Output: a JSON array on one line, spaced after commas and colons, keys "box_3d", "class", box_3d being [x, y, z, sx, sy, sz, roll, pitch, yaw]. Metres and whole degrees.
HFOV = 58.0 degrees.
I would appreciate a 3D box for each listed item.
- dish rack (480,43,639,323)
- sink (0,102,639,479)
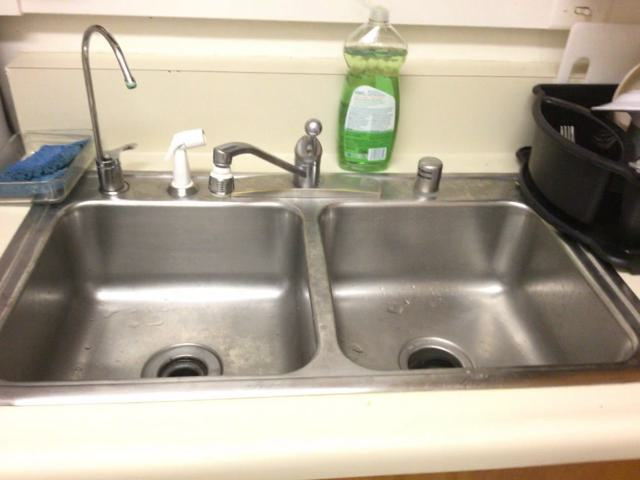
[{"box_3d": [0.640, -0.120, 0.880, 0.620, 0.220, 0.450, -1, 34, -7], "class": "dish rack"}, {"box_3d": [0.000, 0.060, 0.860, 0.830, 0.330, 0.570, -1, 34, -7], "class": "sink"}]
